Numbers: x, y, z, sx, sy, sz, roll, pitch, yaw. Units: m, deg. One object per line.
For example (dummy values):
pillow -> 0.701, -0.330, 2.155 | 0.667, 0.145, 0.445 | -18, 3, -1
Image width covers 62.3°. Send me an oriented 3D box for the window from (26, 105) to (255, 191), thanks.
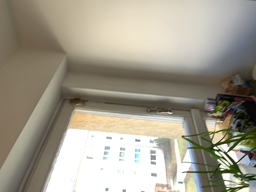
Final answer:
window -> 0.130, 0.560, 1.240 | 1.030, 1.280, 0.280 | -85, 1, -51
